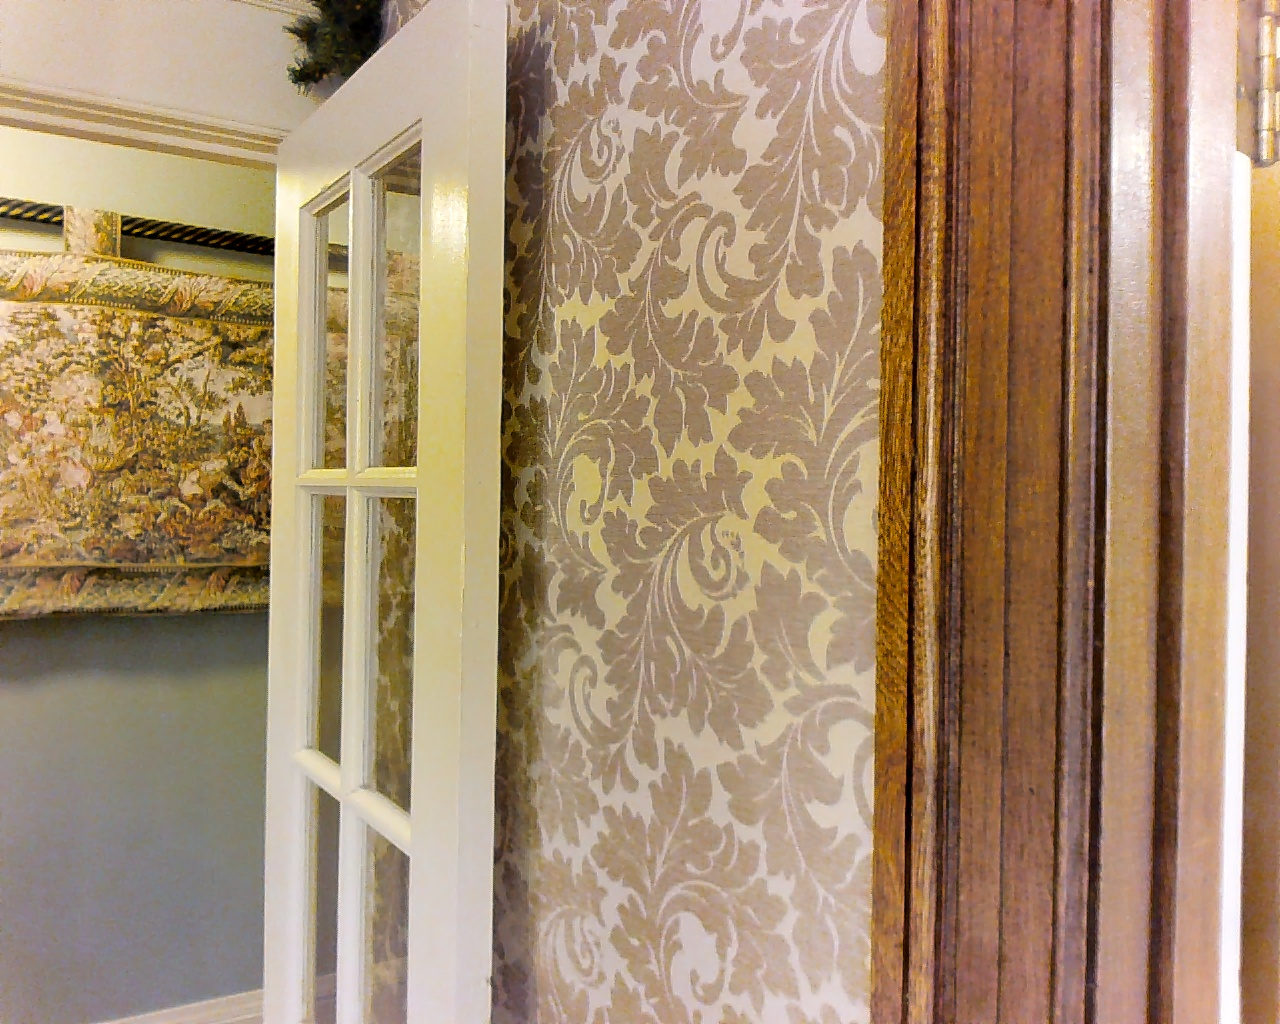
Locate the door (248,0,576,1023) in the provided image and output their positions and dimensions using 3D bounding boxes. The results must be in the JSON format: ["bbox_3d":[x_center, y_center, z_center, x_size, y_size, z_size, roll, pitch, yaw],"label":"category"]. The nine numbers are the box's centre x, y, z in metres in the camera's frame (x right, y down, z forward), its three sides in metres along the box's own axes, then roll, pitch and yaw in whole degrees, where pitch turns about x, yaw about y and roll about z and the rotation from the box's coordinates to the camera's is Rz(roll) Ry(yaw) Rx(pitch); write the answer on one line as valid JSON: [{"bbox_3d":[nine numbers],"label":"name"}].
[{"bbox_3d":[-0.290,0.460,1.190,0.120,2.211,0.620,1,0,-34],"label":"door"}]

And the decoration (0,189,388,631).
[{"bbox_3d":[-1.350,-0.230,2.590,1.490,1.000,0.130,1,0,-34],"label":"decoration"}]
